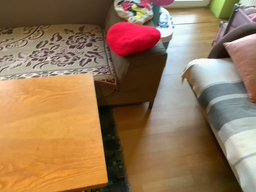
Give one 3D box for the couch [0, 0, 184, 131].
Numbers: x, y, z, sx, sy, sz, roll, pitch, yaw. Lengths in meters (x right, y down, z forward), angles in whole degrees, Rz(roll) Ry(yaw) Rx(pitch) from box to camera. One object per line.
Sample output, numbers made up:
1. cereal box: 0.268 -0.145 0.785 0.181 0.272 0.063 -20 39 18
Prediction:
1. couch: -0.950 -0.430 1.540 2.260 0.770 1.110 -7 50 -11
